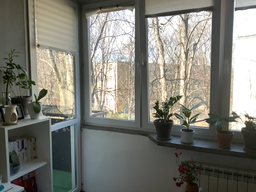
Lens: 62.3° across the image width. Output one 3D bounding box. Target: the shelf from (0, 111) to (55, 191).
[{"bbox_3d":[-0.870,0.750,1.700,0.350,1.190,0.400,3,6,24],"label":"shelf"}]
